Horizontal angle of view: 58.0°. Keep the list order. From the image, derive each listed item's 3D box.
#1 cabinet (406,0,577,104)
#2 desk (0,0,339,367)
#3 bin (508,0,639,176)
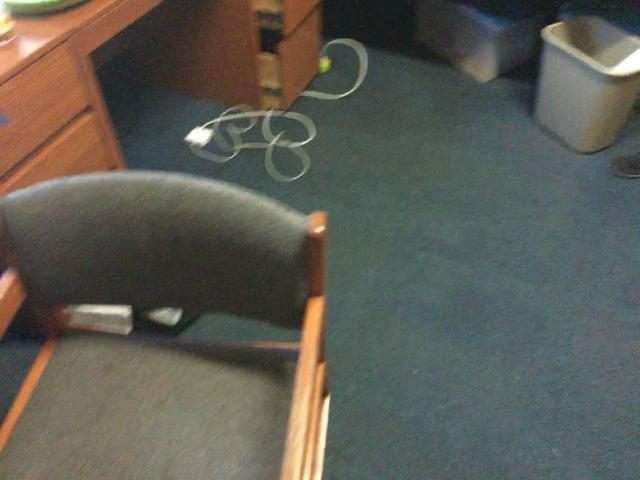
[{"bbox_3d":[0.690,-0.950,2.380,0.410,0.480,0.510,-22,50,-19],"label":"cabinet"},{"bbox_3d":[-0.640,-0.630,1.840,0.820,0.850,1.660,18,49,17],"label":"desk"},{"bbox_3d":[0.950,-0.550,2.060,0.390,0.410,0.380,18,49,17],"label":"bin"}]
